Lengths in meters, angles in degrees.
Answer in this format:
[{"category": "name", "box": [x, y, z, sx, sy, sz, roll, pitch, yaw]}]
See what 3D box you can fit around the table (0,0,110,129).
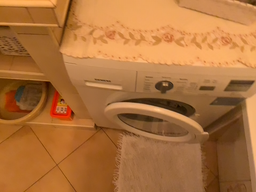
[{"category": "table", "box": [-0.510, -0.230, 0.950, 0.760, 1.040, 0.470, 5, 69, 0]}]
